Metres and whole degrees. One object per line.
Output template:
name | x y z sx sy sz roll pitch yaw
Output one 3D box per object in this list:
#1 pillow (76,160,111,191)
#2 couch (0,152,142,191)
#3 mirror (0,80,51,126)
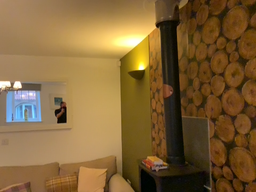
pillow | -0.460 1.110 2.830 0.330 0.360 0.110 -23 7 -11
couch | -0.830 1.280 2.610 1.750 0.820 1.050 0 -2 -16
mirror | -1.470 0.090 3.030 0.690 0.630 0.030 0 -2 -19
